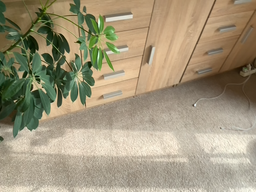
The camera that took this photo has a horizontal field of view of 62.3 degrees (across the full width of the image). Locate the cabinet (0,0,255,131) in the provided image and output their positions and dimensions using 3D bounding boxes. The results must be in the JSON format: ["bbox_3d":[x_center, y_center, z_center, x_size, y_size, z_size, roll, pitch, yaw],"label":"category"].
[{"bbox_3d":[0.230,-0.410,1.490,2.000,0.900,0.360,-14,54,-19],"label":"cabinet"}]
